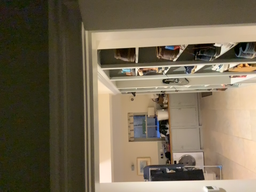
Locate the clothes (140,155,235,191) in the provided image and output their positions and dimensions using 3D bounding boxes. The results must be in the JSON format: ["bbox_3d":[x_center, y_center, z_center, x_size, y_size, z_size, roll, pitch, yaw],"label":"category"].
[{"bbox_3d":[1.230,1.950,4.780,1.040,1.840,0.890,-35,-58,-88],"label":"clothes"}]
